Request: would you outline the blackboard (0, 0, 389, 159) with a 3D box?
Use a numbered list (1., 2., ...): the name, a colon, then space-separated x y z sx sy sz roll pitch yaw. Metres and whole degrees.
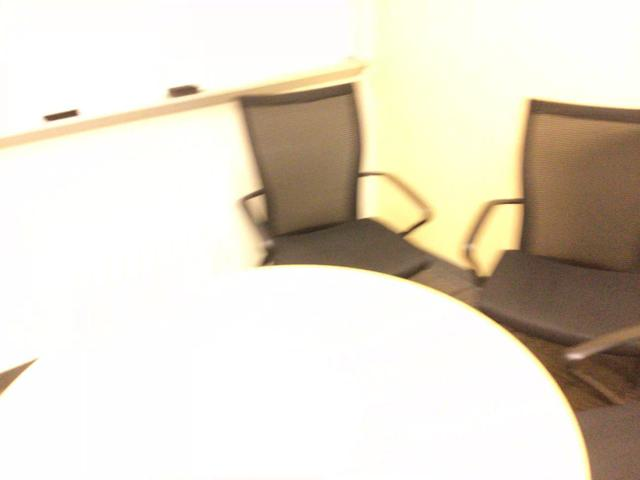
1. blackboard: -0.740 -0.560 1.710 2.430 0.510 0.140 -21 32 -32
